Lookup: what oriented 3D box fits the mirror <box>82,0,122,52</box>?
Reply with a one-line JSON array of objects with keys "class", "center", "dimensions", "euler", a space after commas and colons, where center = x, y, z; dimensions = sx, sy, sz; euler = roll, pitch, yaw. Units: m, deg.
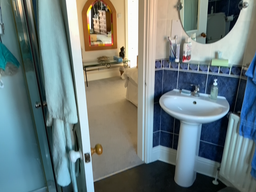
[{"class": "mirror", "center": [-0.570, -1.660, 4.820], "dimensions": [0.780, 1.190, 0.310], "euler": [-12, 21, -27]}]

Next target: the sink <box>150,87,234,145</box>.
[{"class": "sink", "center": [0.530, 0.130, 1.760], "dimensions": [0.560, 0.200, 0.440], "euler": [12, 25, 28]}]
